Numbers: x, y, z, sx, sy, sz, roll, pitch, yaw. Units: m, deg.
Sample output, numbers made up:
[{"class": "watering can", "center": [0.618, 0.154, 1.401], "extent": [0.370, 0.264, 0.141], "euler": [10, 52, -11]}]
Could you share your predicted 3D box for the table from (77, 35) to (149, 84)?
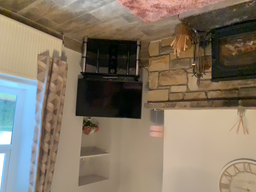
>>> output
[{"class": "table", "center": [-0.210, -0.530, 3.330], "extent": [0.980, 0.500, 0.730], "euler": [3, 172, -1]}]
